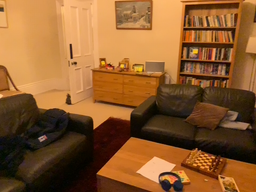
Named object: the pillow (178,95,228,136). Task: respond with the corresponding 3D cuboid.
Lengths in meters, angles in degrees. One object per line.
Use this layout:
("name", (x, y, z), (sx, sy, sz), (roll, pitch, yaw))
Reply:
("pillow", (0.940, 0.230, 2.650), (0.450, 0.410, 0.210), (8, -43, 42))
